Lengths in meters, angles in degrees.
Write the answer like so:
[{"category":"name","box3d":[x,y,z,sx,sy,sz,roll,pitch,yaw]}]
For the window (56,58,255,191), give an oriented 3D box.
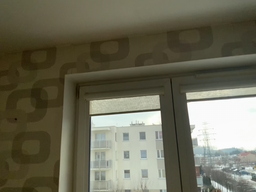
[{"category":"window","box3d":[0.300,0.990,1.240,1.540,2.430,0.130,-5,-15,10]}]
